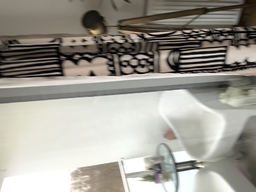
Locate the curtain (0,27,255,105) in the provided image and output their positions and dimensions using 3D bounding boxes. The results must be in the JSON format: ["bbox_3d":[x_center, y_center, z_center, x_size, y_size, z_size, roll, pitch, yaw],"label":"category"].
[{"bbox_3d":[0.040,-0.270,1.390,0.710,2.540,0.200,-117,26,-58],"label":"curtain"}]
